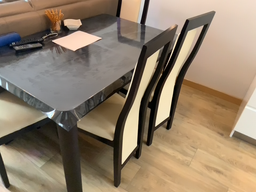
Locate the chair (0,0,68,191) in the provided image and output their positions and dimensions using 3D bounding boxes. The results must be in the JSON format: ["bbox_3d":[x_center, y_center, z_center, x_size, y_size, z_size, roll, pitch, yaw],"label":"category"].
[{"bbox_3d":[-0.760,0.030,1.270,0.420,1.070,0.560,29,42,27],"label":"chair"}]
